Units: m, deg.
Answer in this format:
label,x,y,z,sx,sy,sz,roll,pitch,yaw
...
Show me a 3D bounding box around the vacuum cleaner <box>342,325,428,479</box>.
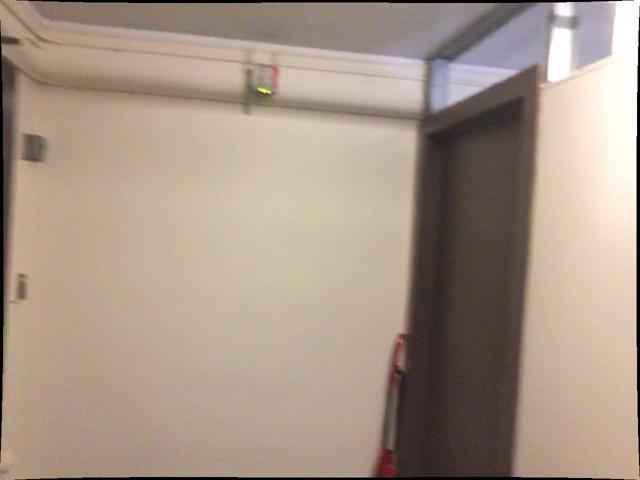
label,x,y,z,sx,sy,sz,roll,pitch,yaw
vacuum cleaner,0.310,0.941,2.760,0.290,1.011,0.260,2,0,38
